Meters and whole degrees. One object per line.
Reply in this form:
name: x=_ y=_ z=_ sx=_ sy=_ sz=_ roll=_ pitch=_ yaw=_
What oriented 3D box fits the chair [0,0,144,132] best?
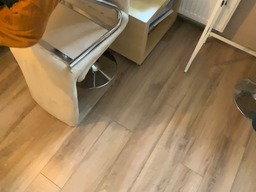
chair: x=-0.300 y=-0.350 z=1.120 sx=0.480 sy=0.910 sz=0.670 roll=30 pitch=64 yaw=12
